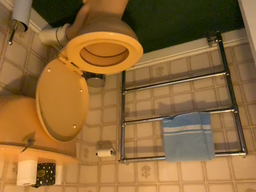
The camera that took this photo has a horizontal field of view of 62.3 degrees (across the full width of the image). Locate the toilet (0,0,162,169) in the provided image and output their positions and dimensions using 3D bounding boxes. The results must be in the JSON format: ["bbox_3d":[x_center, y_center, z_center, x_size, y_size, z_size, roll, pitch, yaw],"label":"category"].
[{"bbox_3d":[-0.250,-0.140,1.180,0.680,0.970,0.540,-11,155,21],"label":"toilet"}]
